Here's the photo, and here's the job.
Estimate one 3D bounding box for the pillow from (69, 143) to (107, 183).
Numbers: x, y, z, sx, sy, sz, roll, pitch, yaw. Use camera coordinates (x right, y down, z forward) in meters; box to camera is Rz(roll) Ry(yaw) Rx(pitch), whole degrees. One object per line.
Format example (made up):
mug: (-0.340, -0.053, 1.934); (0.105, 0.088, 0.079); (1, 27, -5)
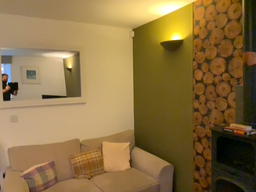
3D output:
pillow: (-0.470, 0.800, 2.550); (0.370, 0.310, 0.080); (-27, 18, -29)

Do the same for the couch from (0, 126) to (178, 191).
couch: (-0.450, 0.930, 2.470); (1.750, 0.800, 1.080); (-3, 4, -30)

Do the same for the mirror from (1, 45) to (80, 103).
mirror: (-1.070, -0.270, 2.690); (0.900, 0.660, 0.050); (-3, 5, -30)

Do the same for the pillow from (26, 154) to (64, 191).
pillow: (-0.890, 0.820, 2.290); (0.120, 0.250, 0.270); (-4, 31, 49)

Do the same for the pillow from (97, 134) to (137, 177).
pillow: (-0.140, 0.760, 2.740); (0.380, 0.400, 0.130); (-22, 9, -20)
